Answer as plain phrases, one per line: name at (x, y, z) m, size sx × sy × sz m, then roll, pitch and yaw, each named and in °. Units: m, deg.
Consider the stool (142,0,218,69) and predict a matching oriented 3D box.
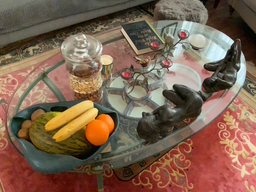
stool at (0.420, -0.570, 1.830) m, size 0.410 × 0.410 × 0.370 m, roll -26°, pitch 59°, yaw -23°
